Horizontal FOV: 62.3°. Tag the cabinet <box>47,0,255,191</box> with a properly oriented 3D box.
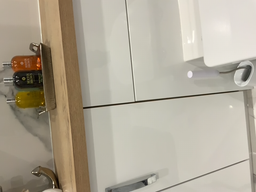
[{"bbox_3d":[0.140,0.040,0.930,0.350,0.800,1.070,-5,91,62],"label":"cabinet"}]
